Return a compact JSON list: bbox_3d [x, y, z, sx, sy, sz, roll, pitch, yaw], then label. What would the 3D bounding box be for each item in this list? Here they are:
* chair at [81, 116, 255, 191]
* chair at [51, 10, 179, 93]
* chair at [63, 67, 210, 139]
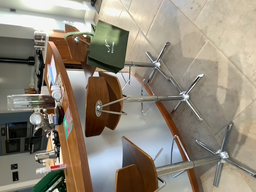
[{"bbox_3d":[0.310,0.470,1.350,0.510,1.070,0.470,25,112,57],"label":"chair"},{"bbox_3d":[-0.140,-0.400,2.090,0.490,1.060,0.530,57,137,42],"label":"chair"},{"bbox_3d":[0.080,0.010,1.720,0.480,1.070,0.380,25,112,57],"label":"chair"}]
